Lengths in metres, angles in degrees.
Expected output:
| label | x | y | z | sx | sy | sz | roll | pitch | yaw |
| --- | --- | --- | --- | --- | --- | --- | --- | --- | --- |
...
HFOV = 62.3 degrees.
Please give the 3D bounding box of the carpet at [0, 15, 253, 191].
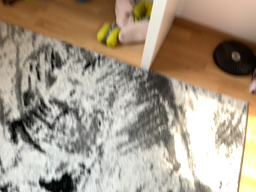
| label | x | y | z | sx | sy | sz | roll | pitch | yaw |
| --- | --- | --- | --- | --- | --- | --- | --- | --- | --- |
| carpet | -0.300 | 0.250 | 0.990 | 1.690 | 0.040 | 1.210 | 19 | 64 | 5 |
